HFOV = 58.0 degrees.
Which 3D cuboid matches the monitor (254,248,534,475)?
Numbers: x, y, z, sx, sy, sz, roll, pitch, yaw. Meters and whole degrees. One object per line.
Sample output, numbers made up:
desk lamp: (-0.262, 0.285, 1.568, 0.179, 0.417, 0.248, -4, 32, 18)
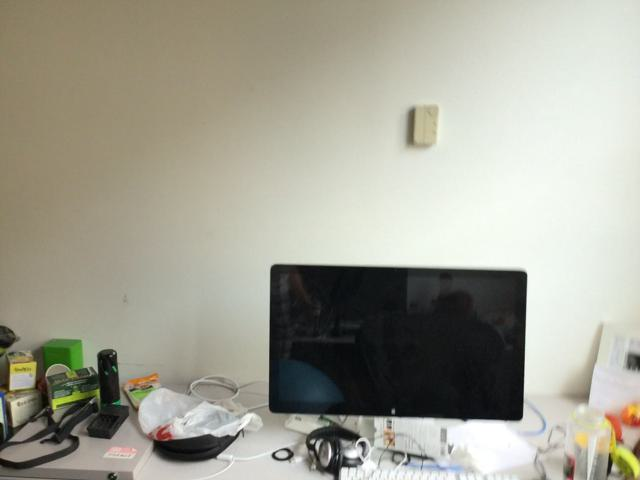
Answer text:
monitor: (0.170, 0.300, 1.480, 0.630, 0.490, 0.170, 4, 10, 3)
